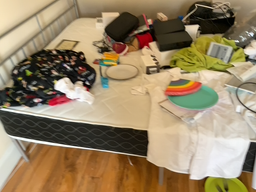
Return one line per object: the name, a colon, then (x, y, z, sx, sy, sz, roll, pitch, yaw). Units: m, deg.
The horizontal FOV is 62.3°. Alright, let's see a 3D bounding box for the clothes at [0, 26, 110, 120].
clothes: (-0.480, -0.200, 1.300, 0.570, 0.130, 0.670, -15, 41, -13)
